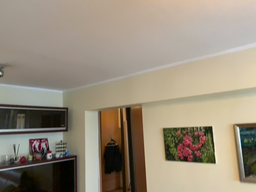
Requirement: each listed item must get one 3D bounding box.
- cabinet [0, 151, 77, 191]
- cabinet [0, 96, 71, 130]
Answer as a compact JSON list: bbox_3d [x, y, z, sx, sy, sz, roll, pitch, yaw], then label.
[{"bbox_3d":[-1.400,1.510,2.900,0.460,1.320,1.380,-9,-11,38],"label":"cabinet"},{"bbox_3d":[-1.530,0.270,3.130,0.300,0.430,1.430,-9,-11,38],"label":"cabinet"}]
